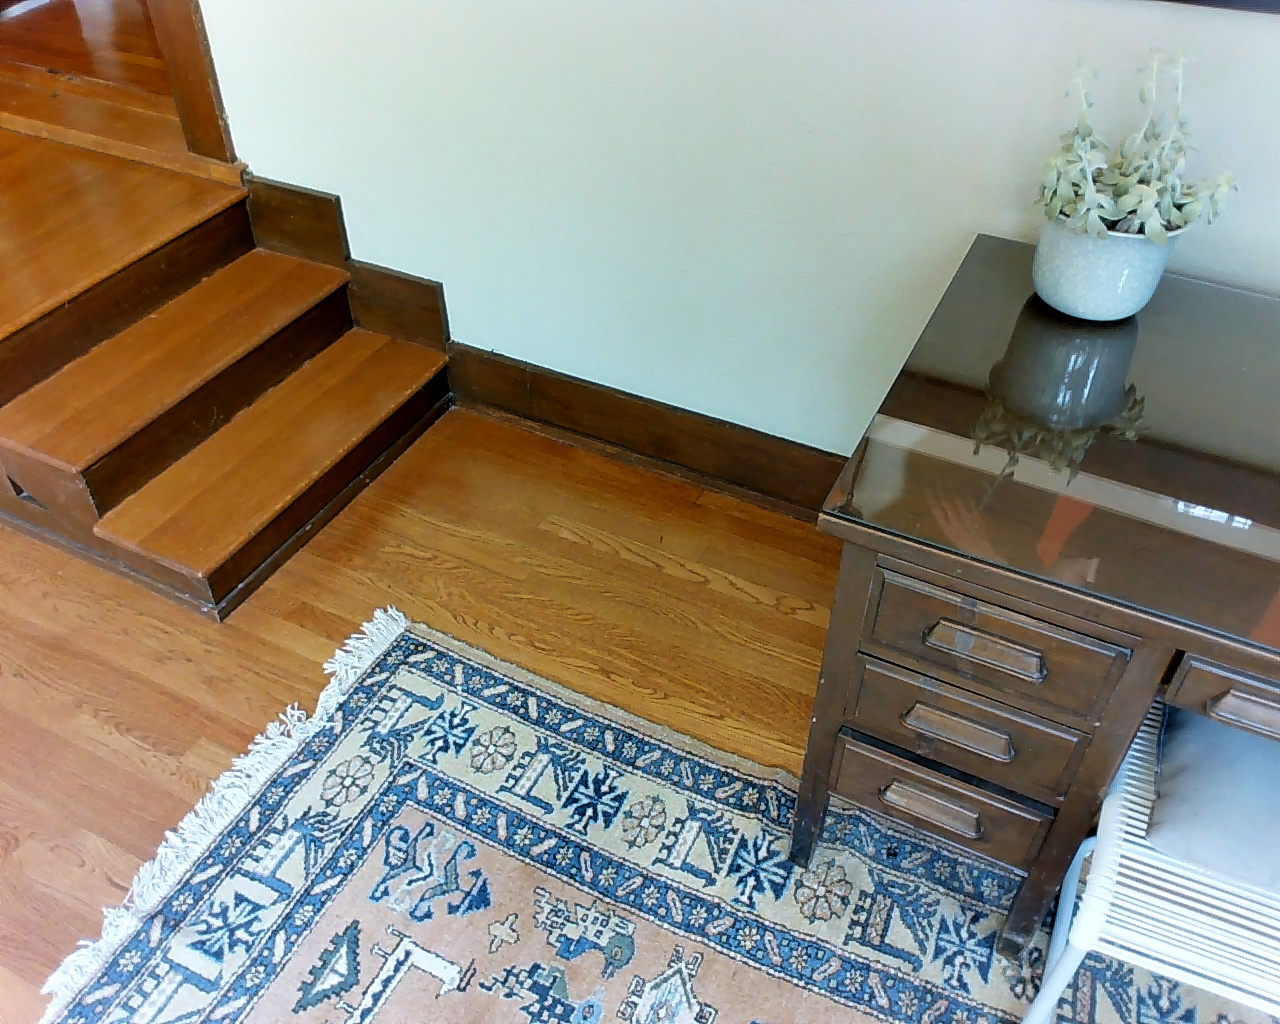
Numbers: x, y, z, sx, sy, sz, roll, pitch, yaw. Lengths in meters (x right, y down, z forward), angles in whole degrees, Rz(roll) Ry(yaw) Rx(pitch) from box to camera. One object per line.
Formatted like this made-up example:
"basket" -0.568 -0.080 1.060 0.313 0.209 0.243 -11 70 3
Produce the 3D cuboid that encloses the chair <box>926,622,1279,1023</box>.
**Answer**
"chair" 0.770 0.540 1.340 0.660 0.540 0.330 19 45 20

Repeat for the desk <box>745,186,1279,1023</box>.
"desk" 0.970 0.210 1.530 1.350 0.770 0.880 19 45 20
